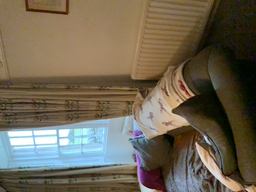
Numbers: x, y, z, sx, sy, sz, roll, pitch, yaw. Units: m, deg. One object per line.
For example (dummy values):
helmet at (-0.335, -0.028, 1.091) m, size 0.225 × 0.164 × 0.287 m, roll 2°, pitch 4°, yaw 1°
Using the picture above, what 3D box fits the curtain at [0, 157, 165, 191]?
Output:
curtain at (-0.700, 1.470, 3.440) m, size 0.390 × 2.480 × 0.710 m, roll -109°, pitch 24°, yaw -50°

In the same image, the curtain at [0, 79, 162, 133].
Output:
curtain at (-0.650, 0.110, 2.380) m, size 0.180 × 2.010 × 0.570 m, roll -110°, pitch 24°, yaw -52°
